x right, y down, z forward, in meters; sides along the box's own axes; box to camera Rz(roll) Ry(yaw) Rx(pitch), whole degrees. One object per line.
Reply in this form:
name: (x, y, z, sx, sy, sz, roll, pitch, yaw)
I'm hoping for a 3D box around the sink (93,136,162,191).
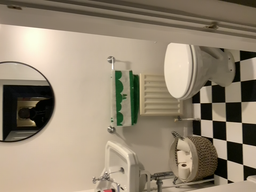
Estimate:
sink: (-0.040, 0.510, 1.430, 0.560, 0.290, 0.400, 170, 100, -69)
